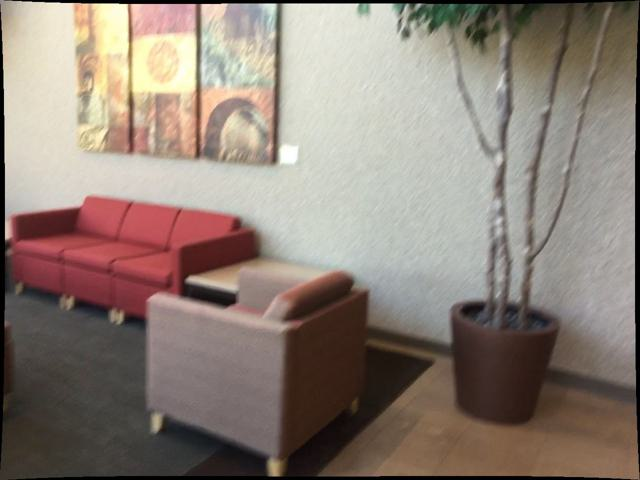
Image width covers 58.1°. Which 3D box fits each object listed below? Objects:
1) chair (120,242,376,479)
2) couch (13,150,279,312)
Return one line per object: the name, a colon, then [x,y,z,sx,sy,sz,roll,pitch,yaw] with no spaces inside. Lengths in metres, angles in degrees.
chair: [-0.319,0.521,2.740,0.849,0.771,0.820,10,15,29]
couch: [-1.378,-0.180,4.450,1.968,0.831,0.880,12,15,33]
